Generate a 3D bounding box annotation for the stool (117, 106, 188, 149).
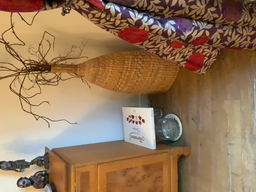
[{"bbox_3d":[0.170,0.210,1.600,0.440,0.320,0.260,-4,86,57],"label":"stool"}]
